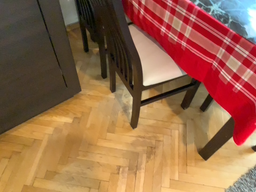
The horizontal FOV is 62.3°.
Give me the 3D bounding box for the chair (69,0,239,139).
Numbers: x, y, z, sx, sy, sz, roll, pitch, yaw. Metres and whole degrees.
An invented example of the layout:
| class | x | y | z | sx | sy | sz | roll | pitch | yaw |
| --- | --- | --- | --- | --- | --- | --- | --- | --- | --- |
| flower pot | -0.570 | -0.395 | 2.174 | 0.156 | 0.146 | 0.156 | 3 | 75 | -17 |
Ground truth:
| class | x | y | z | sx | sy | sz | roll | pitch | yaw |
| --- | --- | --- | --- | --- | --- | --- | --- | --- | --- |
| chair | 0.090 | -0.270 | 1.040 | 0.570 | 0.970 | 0.380 | -25 | 60 | -18 |
